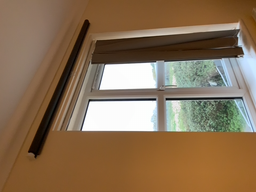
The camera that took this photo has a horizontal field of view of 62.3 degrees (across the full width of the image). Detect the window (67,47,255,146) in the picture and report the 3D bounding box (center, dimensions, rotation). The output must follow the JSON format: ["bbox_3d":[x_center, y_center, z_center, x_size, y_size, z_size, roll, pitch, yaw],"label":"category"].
[{"bbox_3d":[0.270,-0.060,1.820,0.060,1.330,1.060,80,-168,-45],"label":"window"}]
